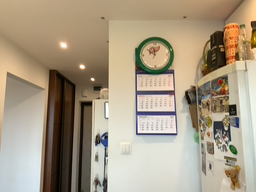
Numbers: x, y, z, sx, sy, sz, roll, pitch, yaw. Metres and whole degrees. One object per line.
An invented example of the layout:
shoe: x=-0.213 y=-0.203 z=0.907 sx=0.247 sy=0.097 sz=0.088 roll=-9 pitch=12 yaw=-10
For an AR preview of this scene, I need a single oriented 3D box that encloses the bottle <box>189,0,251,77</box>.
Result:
bottle: x=0.620 y=-0.390 z=1.510 sx=0.240 sy=0.420 sz=0.420 roll=0 pitch=-8 yaw=1
